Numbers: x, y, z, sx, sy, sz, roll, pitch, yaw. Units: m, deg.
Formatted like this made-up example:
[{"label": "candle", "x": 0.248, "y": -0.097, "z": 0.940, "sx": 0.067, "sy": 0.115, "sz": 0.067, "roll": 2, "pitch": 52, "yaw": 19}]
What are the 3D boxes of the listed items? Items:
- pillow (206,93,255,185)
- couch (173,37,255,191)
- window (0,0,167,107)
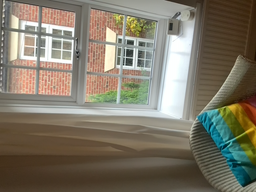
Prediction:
[{"label": "pillow", "x": 0.670, "y": 0.220, "z": 1.210, "sx": 0.490, "sy": 0.410, "sz": 0.200, "roll": -70, "pitch": -27, "yaw": -44}, {"label": "couch", "x": 0.850, "y": 0.180, "z": 1.240, "sx": 0.650, "sy": 0.760, "sz": 0.680, "roll": -109, "pitch": 30, "yaw": -43}, {"label": "window", "x": -0.480, "y": -0.370, "z": 1.810, "sx": 0.100, "sy": 1.720, "sz": 0.860, "roll": -161, "pitch": 76, "yaw": -68}]
